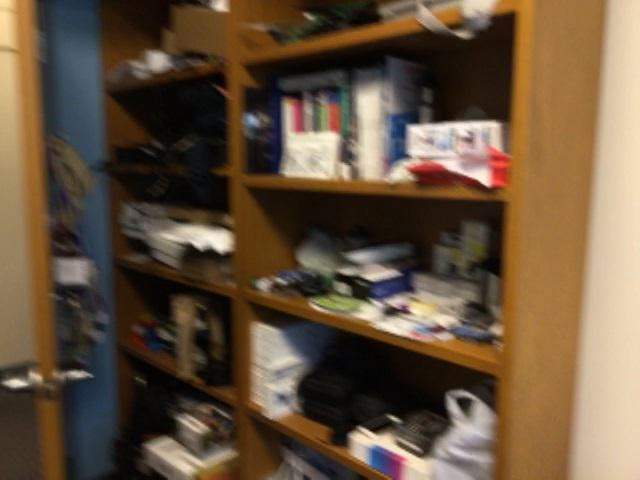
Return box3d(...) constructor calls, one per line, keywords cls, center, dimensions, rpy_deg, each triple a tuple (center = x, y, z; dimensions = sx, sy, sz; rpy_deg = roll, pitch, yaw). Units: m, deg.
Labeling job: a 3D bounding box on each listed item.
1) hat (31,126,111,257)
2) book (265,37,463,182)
box3d(cls="hat", center=(-0.770, -0.150, 1.790), dimensions=(0.180, 0.380, 0.130), rpy_deg=(-5, 8, -43))
box3d(cls="book", center=(0.100, -0.320, 1.570), dimensions=(0.230, 0.320, 0.510), rpy_deg=(-5, 8, -43))
